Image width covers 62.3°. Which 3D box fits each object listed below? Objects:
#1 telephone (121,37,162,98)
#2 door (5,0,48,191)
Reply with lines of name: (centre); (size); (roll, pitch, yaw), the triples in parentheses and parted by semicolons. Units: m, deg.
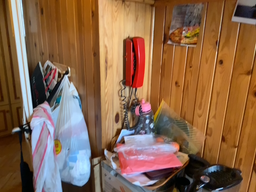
telephone: (0.060, -0.130, 0.920); (0.080, 0.240, 0.170); (16, 22, 40)
door: (-0.560, 0.160, 1.240); (0.070, 1.820, 0.780); (-7, 18, -24)
